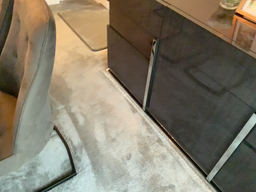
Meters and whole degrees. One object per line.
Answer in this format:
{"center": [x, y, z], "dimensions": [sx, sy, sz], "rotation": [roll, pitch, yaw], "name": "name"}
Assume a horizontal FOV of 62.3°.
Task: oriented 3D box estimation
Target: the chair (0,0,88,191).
{"center": [-0.560, 0.090, 0.920], "dimensions": [0.560, 0.940, 0.460], "rotation": [-22, 52, -24], "name": "chair"}

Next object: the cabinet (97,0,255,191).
{"center": [0.540, -0.090, 1.260], "dimensions": [0.620, 0.800, 1.840], "rotation": [-24, 53, -25], "name": "cabinet"}
